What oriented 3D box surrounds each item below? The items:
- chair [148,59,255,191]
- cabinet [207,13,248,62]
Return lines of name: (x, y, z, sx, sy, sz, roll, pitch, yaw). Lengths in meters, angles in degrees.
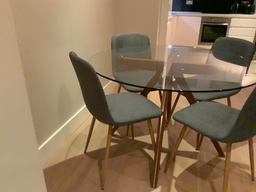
chair: (0.480, 0.250, 1.340, 0.520, 0.820, 0.410, 21, 31, 37)
cabinet: (2.230, -1.360, 4.860, 0.540, 0.970, 0.670, 6, 25, 11)
